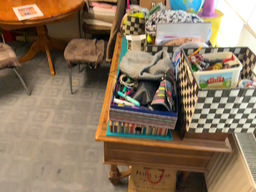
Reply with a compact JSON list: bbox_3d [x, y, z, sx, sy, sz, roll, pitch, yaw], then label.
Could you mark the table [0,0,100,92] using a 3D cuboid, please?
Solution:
[{"bbox_3d":[-1.010,-0.810,2.530,1.100,0.780,1.330,4,42,2],"label":"table"}]
